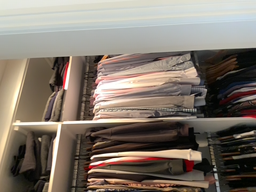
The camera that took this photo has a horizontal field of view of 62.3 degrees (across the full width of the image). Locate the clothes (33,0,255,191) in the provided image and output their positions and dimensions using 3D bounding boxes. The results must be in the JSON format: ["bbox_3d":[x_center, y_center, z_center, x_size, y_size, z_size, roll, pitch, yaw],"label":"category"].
[{"bbox_3d":[0.550,-0.110,1.680,0.680,2.010,2.320,82,-172,-63],"label":"clothes"}]
